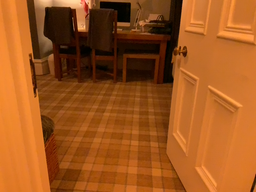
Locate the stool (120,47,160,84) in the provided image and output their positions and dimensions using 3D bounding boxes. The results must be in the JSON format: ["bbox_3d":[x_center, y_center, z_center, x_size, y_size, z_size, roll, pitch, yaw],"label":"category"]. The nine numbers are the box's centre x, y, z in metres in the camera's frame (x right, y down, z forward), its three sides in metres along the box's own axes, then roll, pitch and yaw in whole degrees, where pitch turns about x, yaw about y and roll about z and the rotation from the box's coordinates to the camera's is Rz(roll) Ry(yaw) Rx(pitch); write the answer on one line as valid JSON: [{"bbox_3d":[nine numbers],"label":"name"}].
[{"bbox_3d":[0.200,-0.510,3.460,0.580,0.450,0.540,4,22,5],"label":"stool"}]

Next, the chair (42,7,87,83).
[{"bbox_3d":[-0.920,-0.780,3.210,0.410,1.030,0.500,4,22,5],"label":"chair"}]

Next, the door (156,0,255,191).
[{"bbox_3d":[0.360,-0.290,0.970,0.080,2.010,0.800,-2,22,-9],"label":"door"}]
